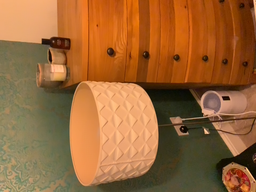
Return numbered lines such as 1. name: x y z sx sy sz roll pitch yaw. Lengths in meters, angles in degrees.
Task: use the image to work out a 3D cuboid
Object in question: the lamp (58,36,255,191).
1. lamp: 0.360 0.110 1.090 0.490 1.270 0.480 -64 39 41
